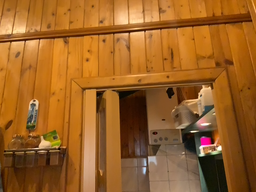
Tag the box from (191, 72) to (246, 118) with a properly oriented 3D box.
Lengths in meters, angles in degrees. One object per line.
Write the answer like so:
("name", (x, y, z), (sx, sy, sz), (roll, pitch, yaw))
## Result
("box", (0.600, 0.000, 1.450), (0.270, 0.240, 0.220), (-5, -18, 9))
